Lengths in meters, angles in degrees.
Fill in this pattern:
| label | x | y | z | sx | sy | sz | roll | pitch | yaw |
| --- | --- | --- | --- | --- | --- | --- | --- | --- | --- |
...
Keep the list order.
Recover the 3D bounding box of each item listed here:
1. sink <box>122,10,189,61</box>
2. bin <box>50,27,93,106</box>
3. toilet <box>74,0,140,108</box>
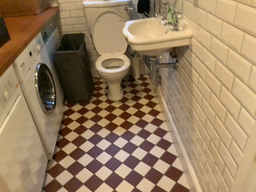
| label | x | y | z | sx | sy | sz | roll | pitch | yaw |
| --- | --- | --- | --- | --- | --- | --- | --- | --- | --- |
| sink | 0.140 | -0.420 | 1.390 | 0.330 | 0.140 | 0.560 | -4 | 33 | -2 |
| bin | -0.570 | -0.340 | 2.320 | 0.250 | 0.620 | 0.650 | -4 | 33 | -2 |
| toilet | -0.180 | -0.490 | 2.240 | 0.510 | 0.950 | 0.720 | -5 | 33 | -3 |
